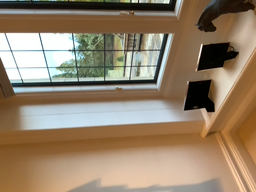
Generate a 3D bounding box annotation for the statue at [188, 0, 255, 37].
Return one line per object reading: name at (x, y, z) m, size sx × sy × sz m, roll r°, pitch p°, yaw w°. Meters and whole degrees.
statue at (0.650, -0.650, 1.340) m, size 0.480 × 0.340 × 0.250 m, roll 98°, pitch 166°, yaw -48°
